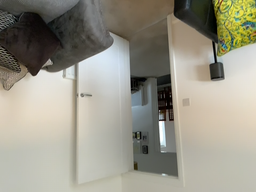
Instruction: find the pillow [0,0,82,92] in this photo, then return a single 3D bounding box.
[{"bbox_3d":[-0.800,-0.440,1.860,0.330,0.570,0.510,-15,133,39],"label":"pillow"}]
